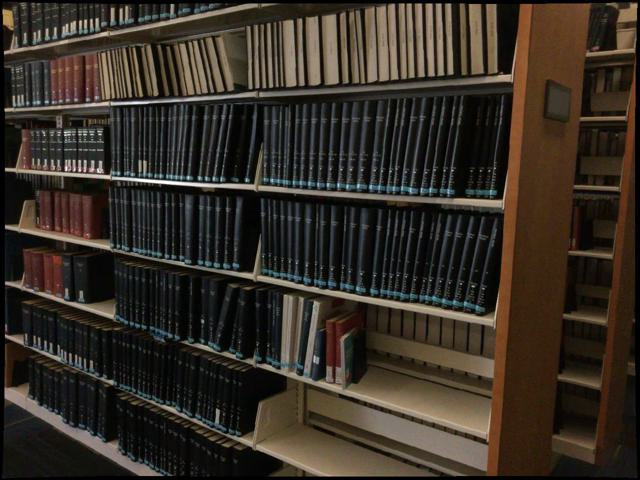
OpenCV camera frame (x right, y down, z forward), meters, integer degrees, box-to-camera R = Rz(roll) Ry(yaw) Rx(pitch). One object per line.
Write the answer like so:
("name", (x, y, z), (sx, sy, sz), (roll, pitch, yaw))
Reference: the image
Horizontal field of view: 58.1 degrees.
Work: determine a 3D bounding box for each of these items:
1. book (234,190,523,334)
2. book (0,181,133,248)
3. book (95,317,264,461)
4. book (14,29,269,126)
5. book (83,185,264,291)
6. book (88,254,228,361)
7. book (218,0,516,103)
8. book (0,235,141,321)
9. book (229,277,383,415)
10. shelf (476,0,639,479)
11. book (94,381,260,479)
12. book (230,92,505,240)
("book", (0.140, 0.030, 1.960), (1.008, 0.331, 0.210), (8, 12, 37))
("book", (-1.416, -0.160, 3.170), (0.869, 0.271, 0.280), (8, 12, 37))
("book", (-0.658, 0.622, 2.560), (0.988, 0.361, 0.130), (8, 12, 37))
("book", (-0.878, -0.682, 2.590), (1.518, 0.301, 0.260), (8, 12, 37))
("book", (-0.668, -0.040, 2.480), (1.038, 0.341, 0.130), (8, 12, 37))
("book", (-0.728, 0.271, 2.520), (0.769, 0.311, 0.150), (8, 12, 37))
("book", (0.090, -0.592, 1.840), (0.998, 0.251, 0.190), (8, 12, 37))
("book", (-1.406, 0.180, 3.180), (0.978, 0.291, 0.280), (8, 12, 37))
("book", (-0.060, 0.371, 2.170), (0.519, 0.351, 0.270), (8, 12, 37))
("shelf", (1.366, -0.050, 3.020), (0.759, 2.366, 0.669), (8, 12, 37))
("book", (-0.678, 0.932, 2.610), (0.988, 0.311, 0.140), (8, 12, 37))
("book", (0.090, -0.251, 1.870), (0.978, 0.391, 0.100), (8, 12, 37))
